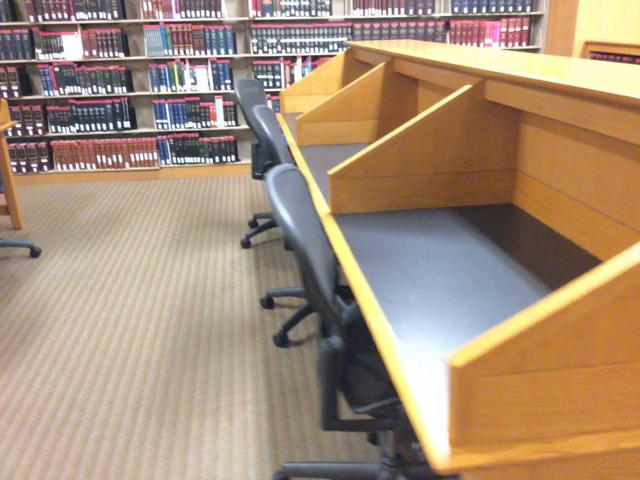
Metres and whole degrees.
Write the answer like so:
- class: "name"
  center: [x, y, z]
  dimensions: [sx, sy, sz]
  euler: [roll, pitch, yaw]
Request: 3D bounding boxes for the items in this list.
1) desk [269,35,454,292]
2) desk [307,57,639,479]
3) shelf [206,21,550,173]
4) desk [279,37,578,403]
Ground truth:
- class: "desk"
  center: [0.150, -0.590, 3.580]
  dimensions: [0.780, 1.240, 1.490]
  euler: [-4, 21, -7]
- class: "desk"
  center: [0.440, 0.210, 1.490]
  dimensions: [0.770, 1.220, 1.240]
  euler: [-4, 21, -7]
- class: "shelf"
  center: [0.540, -1.380, 5.490]
  dimensions: [3.080, 1.250, 0.460]
  euler: [-4, 21, -7]
- class: "desk"
  center: [0.310, -0.240, 2.610]
  dimensions: [0.830, 1.230, 1.380]
  euler: [-4, 21, -7]
